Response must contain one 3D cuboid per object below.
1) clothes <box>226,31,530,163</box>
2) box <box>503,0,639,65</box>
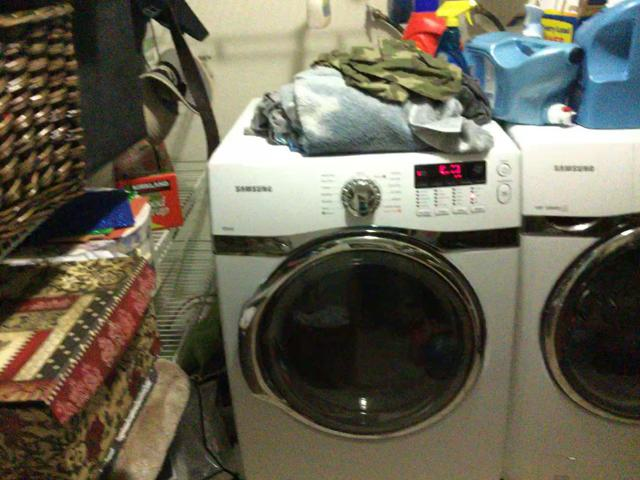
[{"bbox_3d":[0.120,-0.340,1.330,0.590,0.210,0.350,-1,26,3],"label":"clothes"},{"bbox_3d":[0.690,-0.600,1.550,0.290,0.190,0.340,-1,26,3],"label":"box"}]
